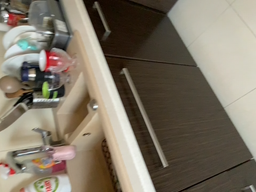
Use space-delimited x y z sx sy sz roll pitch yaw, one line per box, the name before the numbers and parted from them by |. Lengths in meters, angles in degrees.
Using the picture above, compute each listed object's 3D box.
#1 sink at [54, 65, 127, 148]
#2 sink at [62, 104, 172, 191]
sink | -0.210 0.070 1.050 0.440 0.150 0.200 -45 57 42
sink | -0.090 0.310 0.950 0.440 0.200 0.370 -45 57 42
